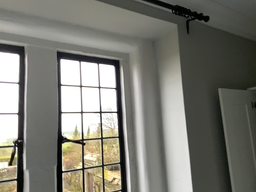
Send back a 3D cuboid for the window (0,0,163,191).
[{"bbox_3d":[-0.360,0.330,1.220,1.250,1.830,0.120,1,-10,-30],"label":"window"}]
